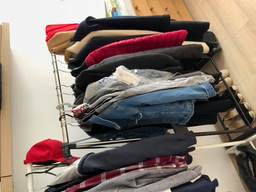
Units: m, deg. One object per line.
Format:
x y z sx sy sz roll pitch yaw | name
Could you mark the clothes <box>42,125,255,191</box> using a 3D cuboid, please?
0.220 0.580 1.180 0.610 1.250 0.490 123 136 -52 | clothes
